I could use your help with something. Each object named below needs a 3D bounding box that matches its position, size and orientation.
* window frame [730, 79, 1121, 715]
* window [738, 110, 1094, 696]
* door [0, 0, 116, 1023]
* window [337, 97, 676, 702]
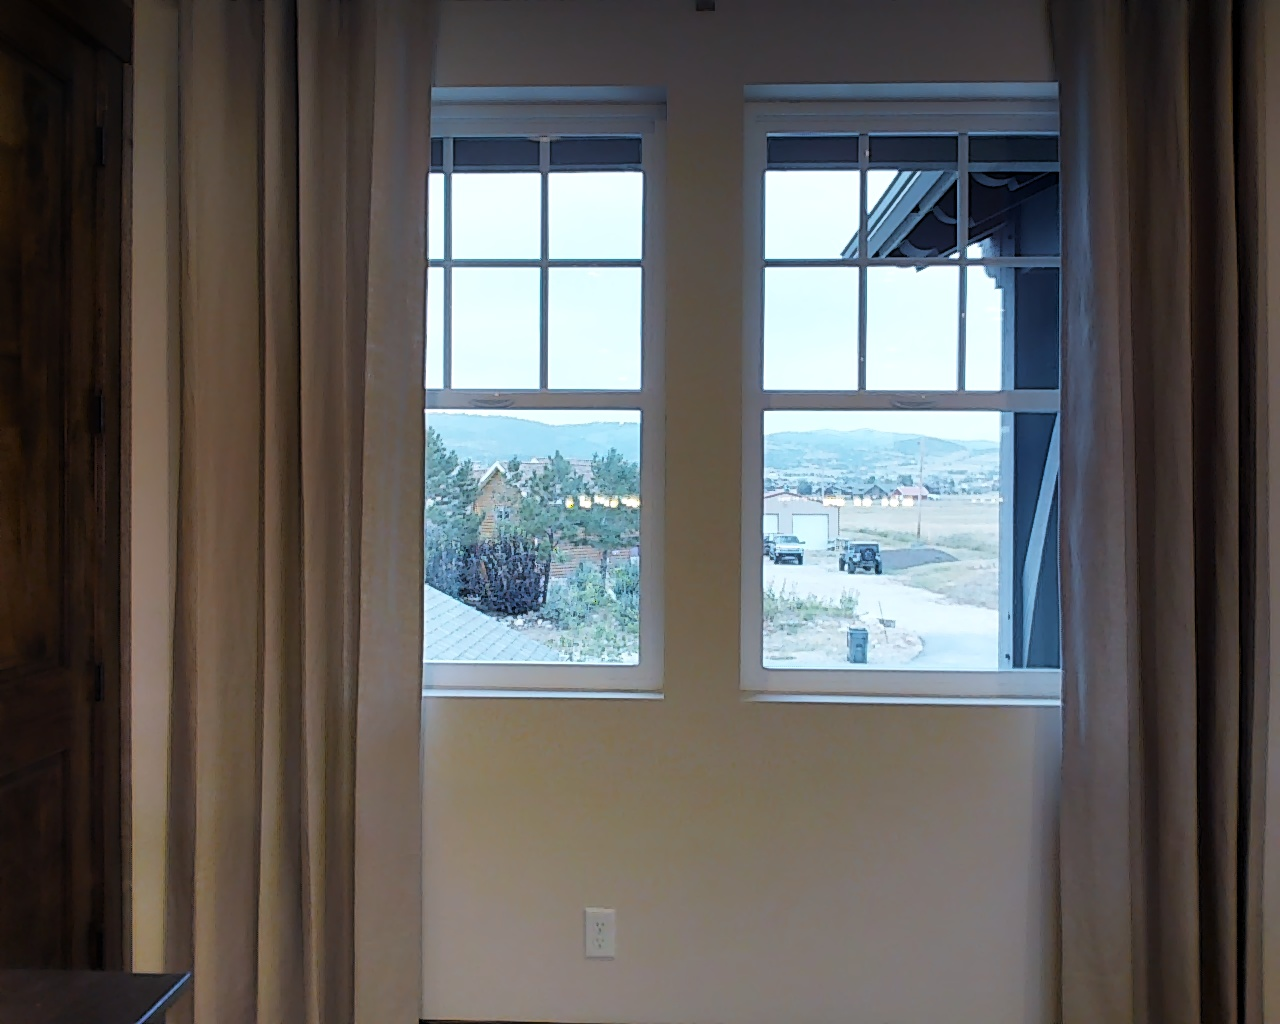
[{"bbox_3d":[0.680,-0.270,2.650,0.900,1.490,0.260,0,0,2],"label":"window frame"},{"bbox_3d":[0.690,-0.270,2.720,0.870,1.450,0.120,0,0,2],"label":"window"},{"bbox_3d":[-1.270,0.140,2.130,0.060,2.400,0.760,0,0,2],"label":"door"},{"bbox_3d":[-0.320,-0.270,2.690,0.820,1.450,0.220,0,0,2],"label":"window"}]
